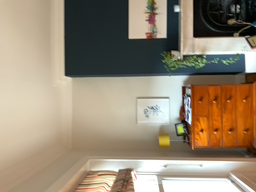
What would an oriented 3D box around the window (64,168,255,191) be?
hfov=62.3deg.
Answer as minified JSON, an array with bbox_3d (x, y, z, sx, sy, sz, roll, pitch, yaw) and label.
[{"bbox_3d":[0.380,1.040,2.120,1.140,1.920,0.270,41,-131,-85],"label":"window"}]

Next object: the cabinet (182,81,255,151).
[{"bbox_3d":[1.360,0.270,3.170,0.500,1.000,0.960,-24,-66,-86],"label":"cabinet"}]

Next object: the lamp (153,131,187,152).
[{"bbox_3d":[0.640,0.700,3.300,0.320,0.470,0.230,-24,-66,-86],"label":"lamp"}]
